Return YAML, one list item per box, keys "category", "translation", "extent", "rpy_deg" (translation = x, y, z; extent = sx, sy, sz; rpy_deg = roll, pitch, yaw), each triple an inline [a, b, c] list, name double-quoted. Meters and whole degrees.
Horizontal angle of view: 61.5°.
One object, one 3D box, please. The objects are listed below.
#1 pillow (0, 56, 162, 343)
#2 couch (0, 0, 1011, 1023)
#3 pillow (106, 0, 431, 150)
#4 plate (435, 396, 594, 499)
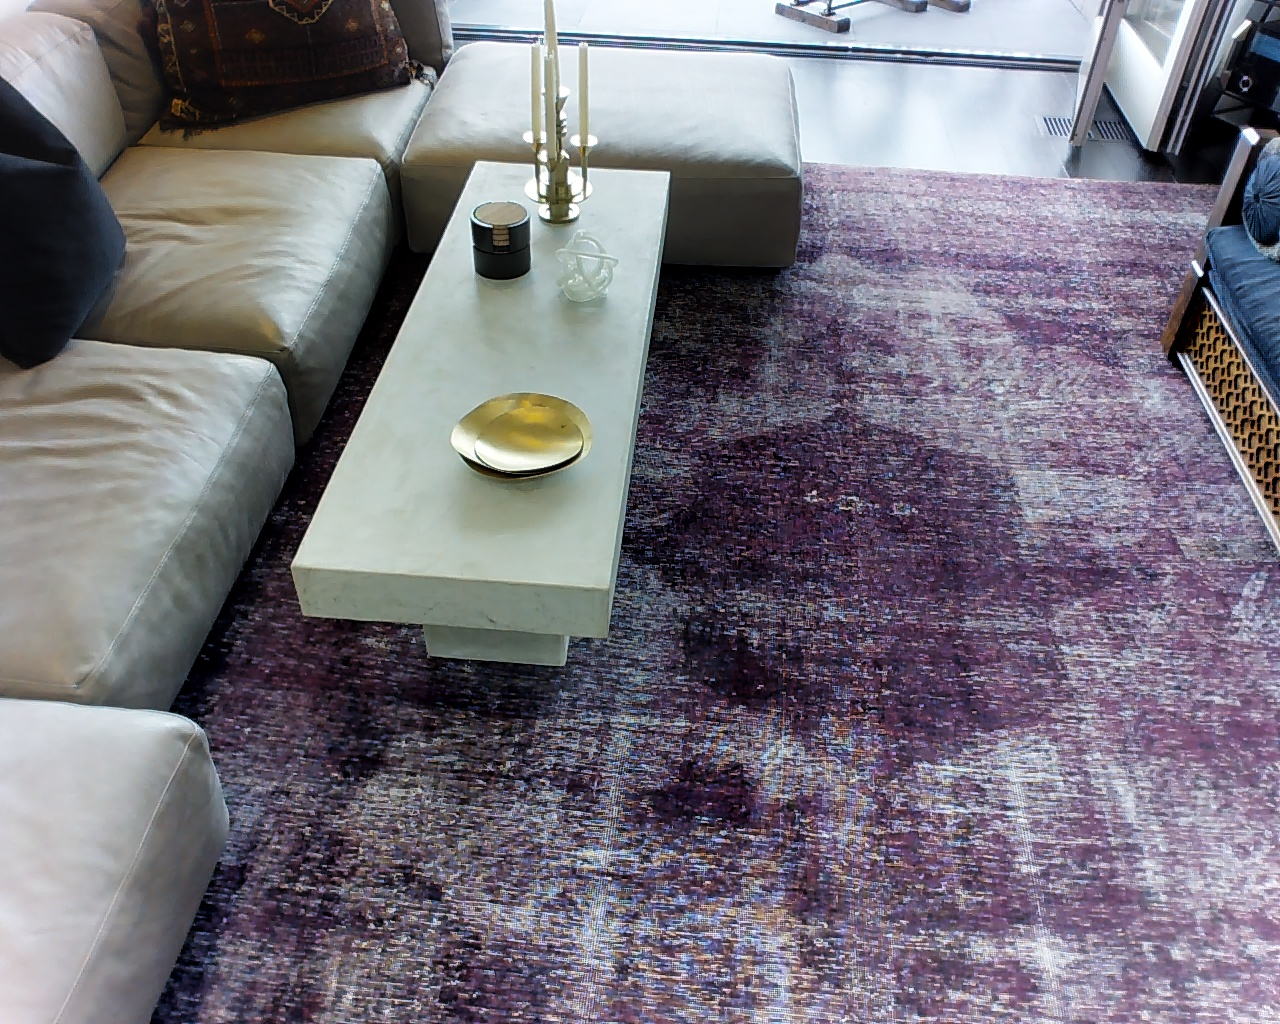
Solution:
- category: "pillow"
  translation: [-1.240, -0.630, 2.110]
  extent: [0.310, 0.460, 0.470]
  rpy_deg: [5, 25, 5]
- category: "couch"
  translation: [-0.670, -0.300, 2.100]
  extent: [2.130, 0.710, 3.850]
  rpy_deg: [4, 42, 3]
- category: "pillow"
  translation: [-1.020, -1.440, 3.030]
  extent: [0.790, 0.600, 0.320]
  rpy_deg: [0, 6, -43]
- category: "plate"
  translation: [-0.200, -0.110, 1.770]
  extent: [0.230, 0.030, 0.220]
  rpy_deg: [3, 42, 2]
